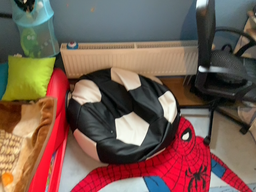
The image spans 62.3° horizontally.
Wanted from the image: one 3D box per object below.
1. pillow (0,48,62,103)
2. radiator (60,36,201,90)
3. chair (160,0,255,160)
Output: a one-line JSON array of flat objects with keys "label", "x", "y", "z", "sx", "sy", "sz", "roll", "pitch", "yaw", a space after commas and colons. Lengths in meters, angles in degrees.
[{"label": "pillow", "x": -0.730, "y": -0.160, "z": 1.560, "sx": 0.370, "sy": 0.180, "sz": 0.400, "roll": 1, "pitch": 47, "yaw": -2}, {"label": "radiator", "x": 0.020, "y": -0.290, "z": 1.920, "sx": 1.130, "sy": 0.460, "sz": 0.190, "roll": -1, "pitch": 47, "yaw": -4}, {"label": "chair", "x": 0.720, "y": -0.160, "z": 1.550, "sx": 0.660, "sy": 1.030, "sz": 0.620, "roll": 18, "pitch": 49, "yaw": 14}]
